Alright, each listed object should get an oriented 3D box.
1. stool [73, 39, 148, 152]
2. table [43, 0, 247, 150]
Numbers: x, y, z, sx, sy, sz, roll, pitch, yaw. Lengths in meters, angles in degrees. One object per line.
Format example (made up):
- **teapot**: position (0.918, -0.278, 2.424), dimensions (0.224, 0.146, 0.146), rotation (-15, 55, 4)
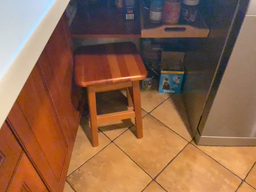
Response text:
- **stool**: position (-0.100, 0.000, 1.140), dimensions (0.290, 0.460, 0.340), rotation (-9, 44, -10)
- **table**: position (0.050, -0.240, 1.100), dimensions (0.600, 0.860, 0.630), rotation (1, 44, 1)
